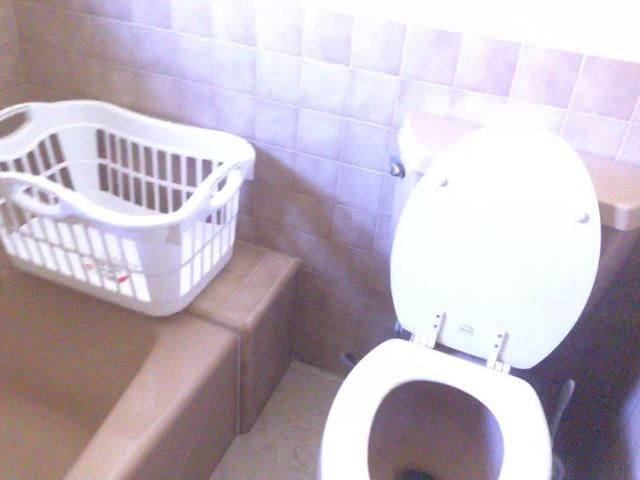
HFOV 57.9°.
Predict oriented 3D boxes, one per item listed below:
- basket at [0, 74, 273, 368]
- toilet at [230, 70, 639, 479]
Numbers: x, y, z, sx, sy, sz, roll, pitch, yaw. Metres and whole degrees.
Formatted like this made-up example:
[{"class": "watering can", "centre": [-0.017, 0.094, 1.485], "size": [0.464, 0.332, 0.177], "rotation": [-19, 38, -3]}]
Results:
[{"class": "basket", "centre": [-0.550, -0.090, 1.360], "size": [0.760, 0.380, 0.430], "rotation": [14, 34, 17]}, {"class": "toilet", "centre": [0.260, 0.270, 1.030], "size": [0.500, 0.890, 0.720], "rotation": [14, 34, 17]}]
